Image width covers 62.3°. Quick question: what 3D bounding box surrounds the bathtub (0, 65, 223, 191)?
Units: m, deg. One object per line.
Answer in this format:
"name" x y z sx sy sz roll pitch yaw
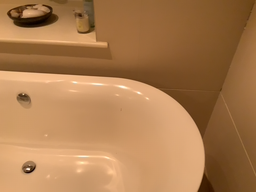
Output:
"bathtub" -0.560 0.340 1.080 1.740 0.620 0.830 3 40 2
